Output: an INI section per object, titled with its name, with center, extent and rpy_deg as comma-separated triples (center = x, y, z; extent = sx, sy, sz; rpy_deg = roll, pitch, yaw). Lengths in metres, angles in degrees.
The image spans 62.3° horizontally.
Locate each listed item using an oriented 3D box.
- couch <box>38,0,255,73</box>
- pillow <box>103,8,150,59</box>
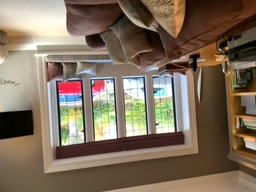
[couch]
center = 0.020, -0.710, 1.630
extent = 1.040, 0.850, 1.700
rpy_deg = -4, -179, -12
[pillow]
center = -0.030, -0.550, 1.950
extent = 0.150, 0.350, 0.420
rpy_deg = 26, 173, -25
